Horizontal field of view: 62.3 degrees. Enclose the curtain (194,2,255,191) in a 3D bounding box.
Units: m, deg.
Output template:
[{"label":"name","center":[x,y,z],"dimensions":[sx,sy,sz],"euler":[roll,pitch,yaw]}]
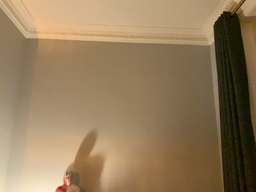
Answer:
[{"label":"curtain","center":[0.870,0.320,1.920],"dimensions":[0.220,2.410,0.410],"euler":[2,-15,-4]}]
